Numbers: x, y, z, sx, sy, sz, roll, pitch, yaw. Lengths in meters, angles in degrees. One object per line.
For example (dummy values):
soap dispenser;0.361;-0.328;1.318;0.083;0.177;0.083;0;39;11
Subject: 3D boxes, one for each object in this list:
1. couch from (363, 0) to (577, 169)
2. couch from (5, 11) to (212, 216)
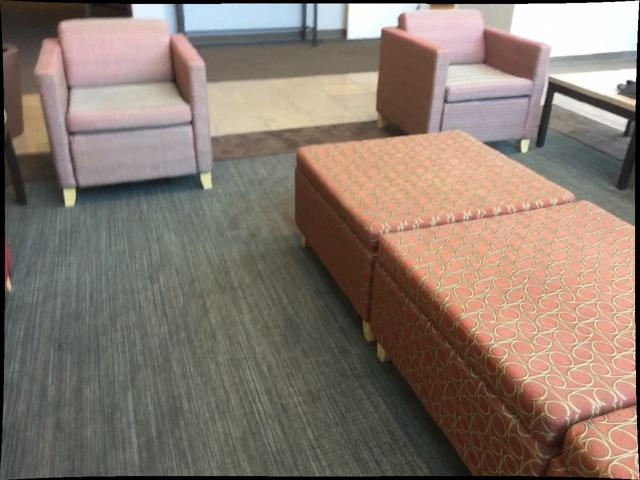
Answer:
couch;0.849;-1.032;3.590;0.849;0.801;0.910;-9;31;-16
couch;-1.048;-0.701;2.990;0.779;0.771;0.830;-9;31;-16
